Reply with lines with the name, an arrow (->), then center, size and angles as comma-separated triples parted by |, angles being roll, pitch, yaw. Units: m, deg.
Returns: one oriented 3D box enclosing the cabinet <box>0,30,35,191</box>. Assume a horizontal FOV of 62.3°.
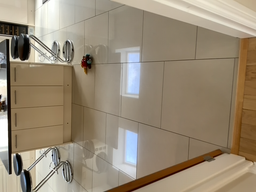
cabinet -> -2.710, 0.540, 4.810 | 0.610, 0.920, 3.840 | 10, 100, 50
